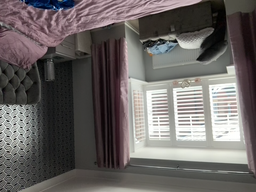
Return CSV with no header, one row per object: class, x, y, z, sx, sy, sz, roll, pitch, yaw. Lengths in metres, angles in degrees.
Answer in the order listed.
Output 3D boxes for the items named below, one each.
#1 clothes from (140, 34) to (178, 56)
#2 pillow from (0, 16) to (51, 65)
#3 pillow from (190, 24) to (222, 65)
clothes,0.500,-0.790,3.370,0.490,0.170,0.420,-4,176,26
pillow,-1.220,-0.550,2.230,0.420,0.290,0.650,-4,176,26
pillow,1.140,-0.710,3.050,0.370,0.400,0.580,-4,176,24
